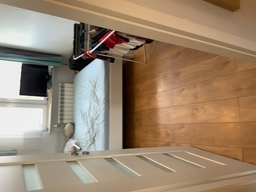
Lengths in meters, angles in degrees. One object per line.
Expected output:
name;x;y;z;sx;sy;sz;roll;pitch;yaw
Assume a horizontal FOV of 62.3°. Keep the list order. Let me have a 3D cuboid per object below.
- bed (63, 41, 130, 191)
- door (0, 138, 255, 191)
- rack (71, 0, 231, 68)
bed;-0.600;0.450;3.580;1.650;0.470;2.210;-13;75;59
door;-0.120;0.410;1.310;0.820;2.170;0.090;0;86;60
rack;0.100;-0.780;2.310;1.530;0.990;0.500;-11;77;59
